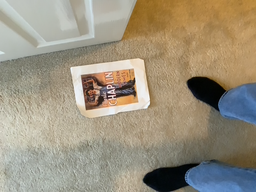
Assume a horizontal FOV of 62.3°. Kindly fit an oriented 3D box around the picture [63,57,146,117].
[{"bbox_3d":[-0.090,-0.040,0.850,0.310,0.010,0.210,-6,91,-8],"label":"picture"}]
